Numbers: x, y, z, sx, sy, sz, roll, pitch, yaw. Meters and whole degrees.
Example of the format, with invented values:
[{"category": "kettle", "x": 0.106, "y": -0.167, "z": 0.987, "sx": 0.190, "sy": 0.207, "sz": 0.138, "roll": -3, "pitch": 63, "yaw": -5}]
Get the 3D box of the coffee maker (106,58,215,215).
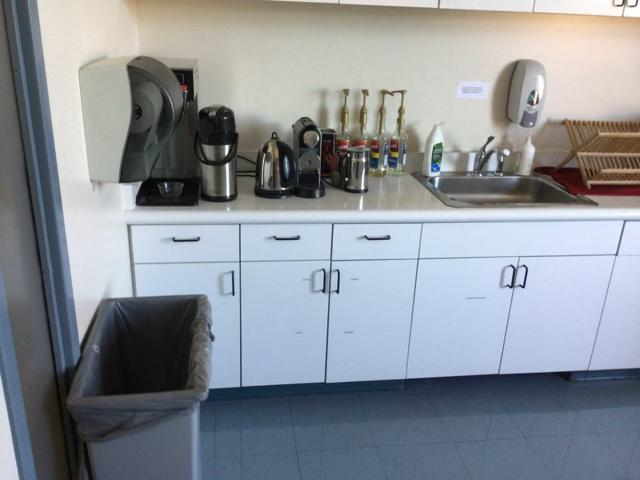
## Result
[{"category": "coffee maker", "x": -0.560, "y": -0.400, "z": 2.150, "sx": 0.260, "sy": 0.490, "sz": 0.470, "roll": 0, "pitch": 21, "yaw": -3}]
